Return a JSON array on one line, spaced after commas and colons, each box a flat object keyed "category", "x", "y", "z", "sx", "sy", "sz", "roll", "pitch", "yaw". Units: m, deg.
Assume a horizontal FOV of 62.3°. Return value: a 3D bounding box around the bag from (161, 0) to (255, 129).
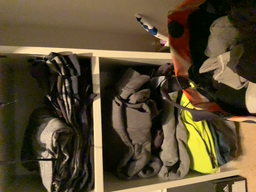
[{"category": "bag", "x": 0.280, "y": -0.070, "z": 0.450, "sx": 0.350, "sy": 0.270, "sz": 0.240, "roll": 174, "pitch": 95, "yaw": -69}]
